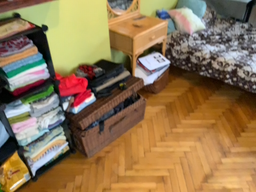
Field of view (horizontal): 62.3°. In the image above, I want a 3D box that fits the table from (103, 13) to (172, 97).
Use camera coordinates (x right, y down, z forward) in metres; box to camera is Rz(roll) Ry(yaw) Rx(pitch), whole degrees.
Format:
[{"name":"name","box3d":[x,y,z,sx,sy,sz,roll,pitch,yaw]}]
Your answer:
[{"name":"table","box3d":[0.110,-0.510,2.560,0.500,0.730,0.590,30,47,34]}]
